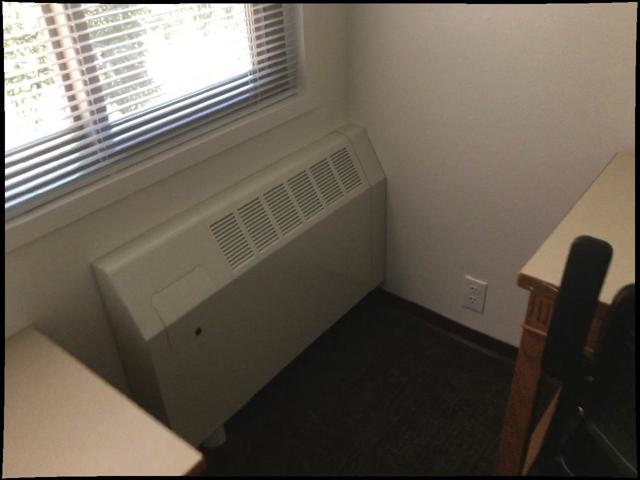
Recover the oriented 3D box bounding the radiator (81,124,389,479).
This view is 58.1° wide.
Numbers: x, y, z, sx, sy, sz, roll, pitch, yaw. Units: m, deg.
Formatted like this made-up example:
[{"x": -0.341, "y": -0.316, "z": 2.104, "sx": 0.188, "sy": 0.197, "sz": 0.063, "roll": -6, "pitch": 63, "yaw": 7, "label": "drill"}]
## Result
[{"x": -0.140, "y": 0.140, "z": 1.640, "sx": 0.170, "sy": 0.661, "sz": 0.909, "roll": 23, "pitch": 40, "yaw": 33, "label": "radiator"}]
